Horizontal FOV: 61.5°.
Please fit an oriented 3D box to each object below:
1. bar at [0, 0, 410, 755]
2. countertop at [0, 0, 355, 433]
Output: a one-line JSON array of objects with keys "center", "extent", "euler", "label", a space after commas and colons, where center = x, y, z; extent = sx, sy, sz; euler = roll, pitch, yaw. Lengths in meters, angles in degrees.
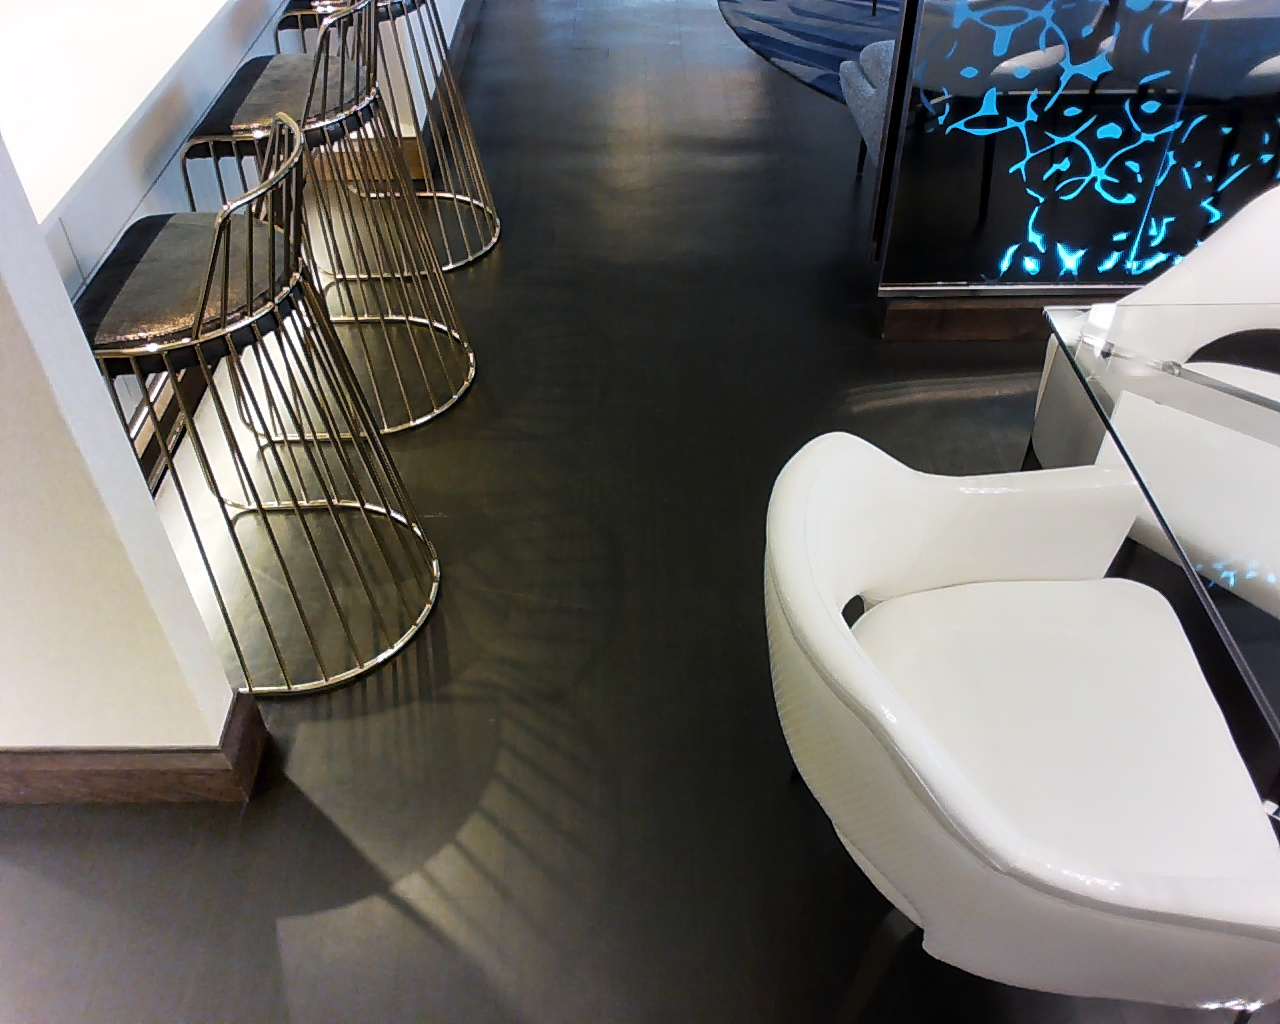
[{"center": [-1.090, -0.670, 2.500], "extent": [0.610, 0.920, 2.300], "euler": [-1, 42, 0], "label": "bar"}, {"center": [-1.080, -0.940, 2.240], "extent": [0.650, 0.200, 2.280], "euler": [-1, 42, 0], "label": "countertop"}]
